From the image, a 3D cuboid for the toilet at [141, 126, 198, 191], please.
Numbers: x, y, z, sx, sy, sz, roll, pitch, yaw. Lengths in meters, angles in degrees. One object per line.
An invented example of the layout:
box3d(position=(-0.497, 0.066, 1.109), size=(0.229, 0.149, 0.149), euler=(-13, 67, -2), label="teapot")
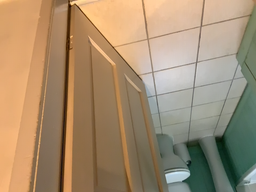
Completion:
box3d(position=(0.450, 0.880, 2.400), size=(0.420, 0.800, 0.670), euler=(-11, 146, 3), label="toilet")
